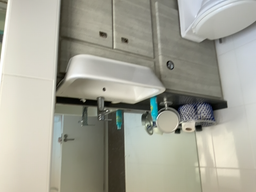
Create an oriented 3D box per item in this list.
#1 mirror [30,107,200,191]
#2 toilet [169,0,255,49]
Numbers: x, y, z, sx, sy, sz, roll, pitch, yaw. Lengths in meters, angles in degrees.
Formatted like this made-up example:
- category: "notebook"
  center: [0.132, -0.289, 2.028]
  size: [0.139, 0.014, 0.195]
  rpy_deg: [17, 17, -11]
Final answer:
- category: "mirror"
  center: [0.030, 0.810, 1.470]
  size: [1.320, 1.390, 0.070]
  rpy_deg: [6, 164, -31]
- category: "toilet"
  center: [0.620, -0.680, 1.460]
  size: [0.410, 0.460, 0.520]
  rpy_deg: [6, 164, -31]
